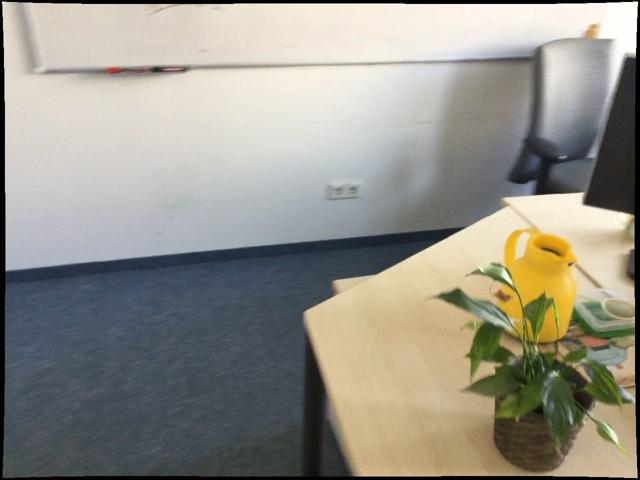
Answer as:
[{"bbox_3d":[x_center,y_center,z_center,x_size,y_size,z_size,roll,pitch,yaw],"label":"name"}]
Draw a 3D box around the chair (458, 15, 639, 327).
[{"bbox_3d":[1.149,-0.330,2.430,0.710,0.991,0.690,-18,36,-27],"label":"chair"}]
